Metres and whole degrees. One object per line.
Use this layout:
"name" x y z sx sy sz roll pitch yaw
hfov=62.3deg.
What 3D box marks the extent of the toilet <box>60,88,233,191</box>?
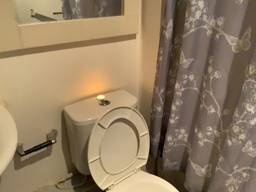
"toilet" 0.020 0.470 1.080 0.390 0.760 0.680 -18 33 -31
